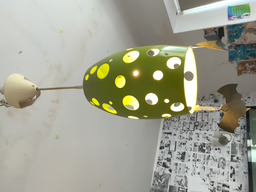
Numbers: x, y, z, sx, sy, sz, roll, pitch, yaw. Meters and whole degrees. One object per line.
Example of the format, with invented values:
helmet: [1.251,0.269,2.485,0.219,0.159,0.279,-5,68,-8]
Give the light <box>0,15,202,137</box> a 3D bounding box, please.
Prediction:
light: [-0.210,-0.020,0.590,0.760,0.200,0.170,-1,68,27]
